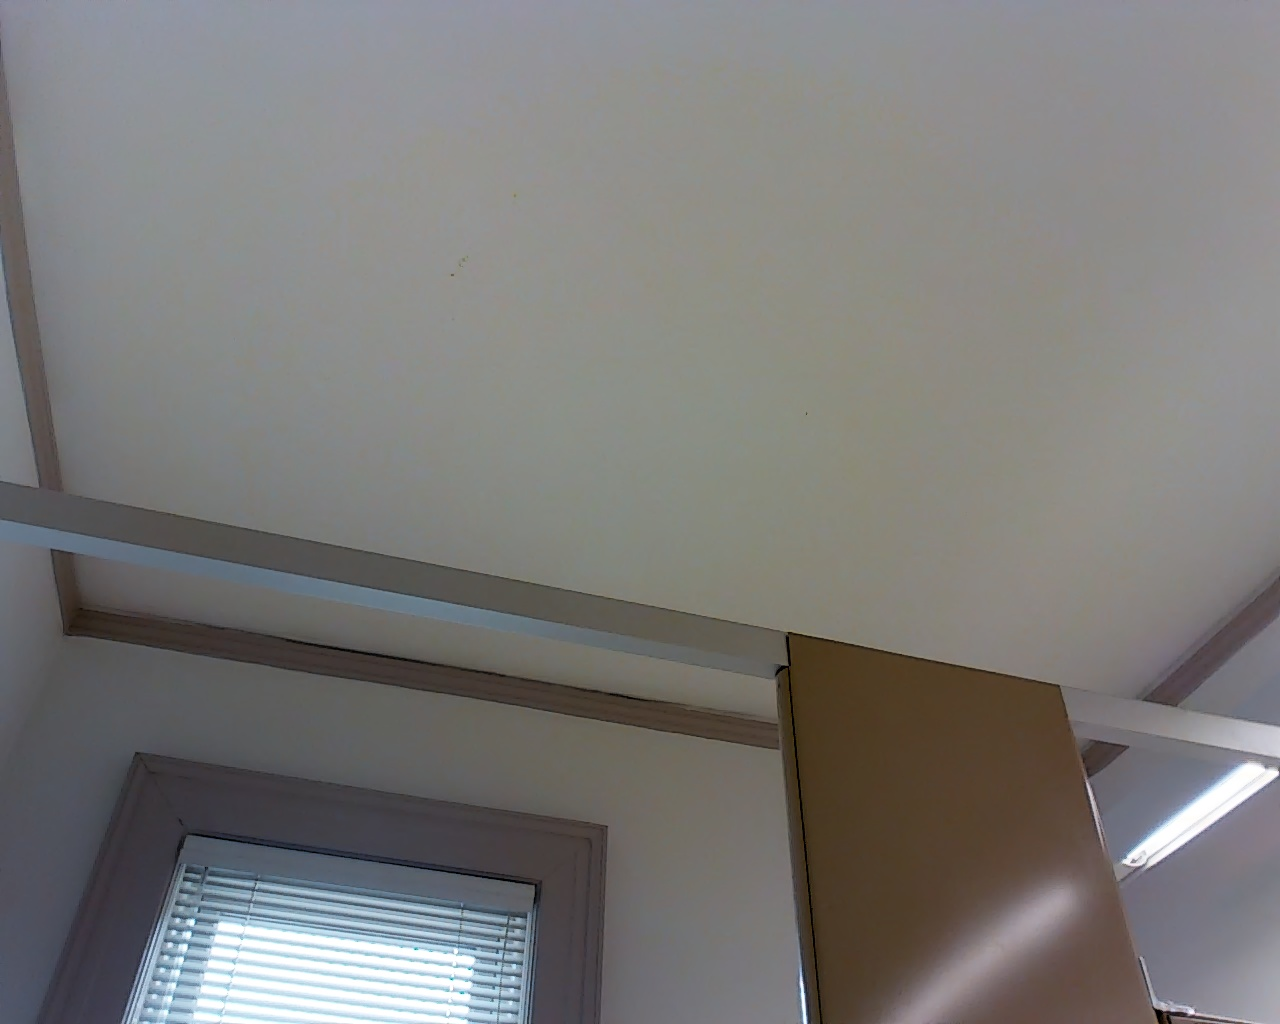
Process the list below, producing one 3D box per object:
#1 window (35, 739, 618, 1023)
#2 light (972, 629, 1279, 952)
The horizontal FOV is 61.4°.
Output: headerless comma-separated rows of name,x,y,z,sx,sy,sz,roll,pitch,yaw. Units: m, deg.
window,-0.470,0.930,1.560,0.840,1.160,0.100,12,-44,-11
light,0.850,0.440,1.690,0.150,0.110,1.020,12,-44,-11
